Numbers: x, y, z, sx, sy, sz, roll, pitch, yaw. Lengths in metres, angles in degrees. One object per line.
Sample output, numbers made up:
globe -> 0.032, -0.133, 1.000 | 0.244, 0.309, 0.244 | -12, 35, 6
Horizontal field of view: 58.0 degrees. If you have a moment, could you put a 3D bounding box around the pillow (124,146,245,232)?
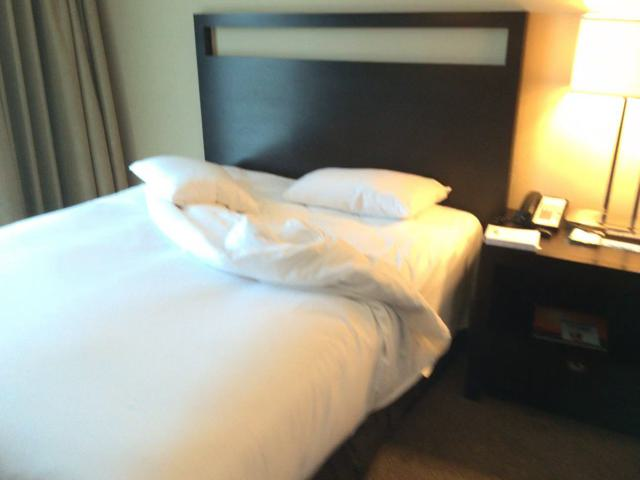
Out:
pillow -> -0.590, -0.240, 2.420 | 0.370, 0.180, 0.710 | -7, 20, -21

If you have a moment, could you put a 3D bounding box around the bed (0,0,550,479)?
bed -> -0.410, -0.050, 1.960 | 1.740, 1.540, 2.160 | 10, 21, 27

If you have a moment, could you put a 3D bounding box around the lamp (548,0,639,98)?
lamp -> 1.090, -0.650, 1.980 | 0.510, 0.300, 0.270 | 10, 21, 27

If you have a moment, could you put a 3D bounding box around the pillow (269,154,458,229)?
pillow -> 0.190, -0.230, 2.510 | 0.700, 0.160, 0.420 | 10, 21, 27
